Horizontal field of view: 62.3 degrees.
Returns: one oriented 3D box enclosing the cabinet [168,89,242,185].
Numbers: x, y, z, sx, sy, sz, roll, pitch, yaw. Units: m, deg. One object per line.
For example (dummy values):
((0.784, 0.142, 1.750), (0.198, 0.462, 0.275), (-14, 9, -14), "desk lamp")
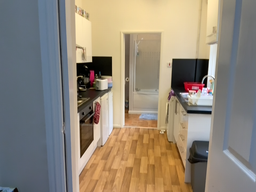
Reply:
((1.010, 0.480, 3.140), (0.650, 0.940, 1.290), (2, 11, 5), "cabinet")
